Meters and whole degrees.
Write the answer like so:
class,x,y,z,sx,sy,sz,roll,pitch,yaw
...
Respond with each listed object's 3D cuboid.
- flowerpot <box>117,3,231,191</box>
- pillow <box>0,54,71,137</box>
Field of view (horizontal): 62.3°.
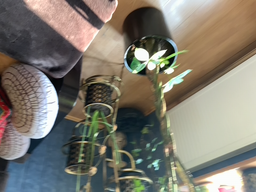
class,x,y,z,sx,sy,sz,roll,pitch,yaw
flowerpot,0.230,0.140,1.260,0.330,1.210,0.710,-13,142,11
pillow,-0.490,0.020,1.070,0.200,0.310,0.330,26,154,-30
